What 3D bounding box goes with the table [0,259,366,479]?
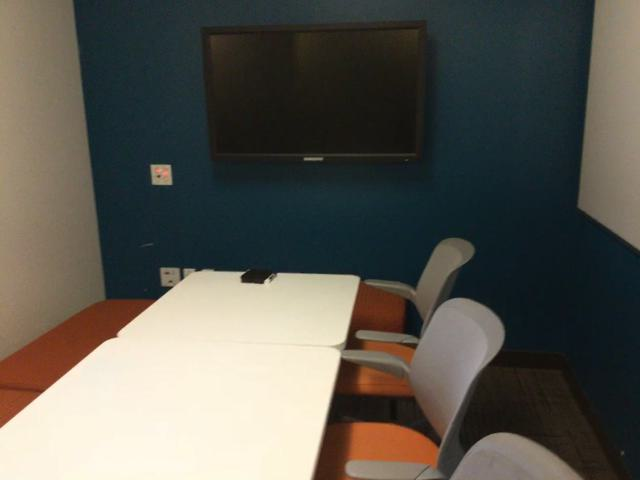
[{"bbox_3d":[-0.380,0.400,1.530,0.820,0.090,2.190,2,14,9],"label":"table"}]
